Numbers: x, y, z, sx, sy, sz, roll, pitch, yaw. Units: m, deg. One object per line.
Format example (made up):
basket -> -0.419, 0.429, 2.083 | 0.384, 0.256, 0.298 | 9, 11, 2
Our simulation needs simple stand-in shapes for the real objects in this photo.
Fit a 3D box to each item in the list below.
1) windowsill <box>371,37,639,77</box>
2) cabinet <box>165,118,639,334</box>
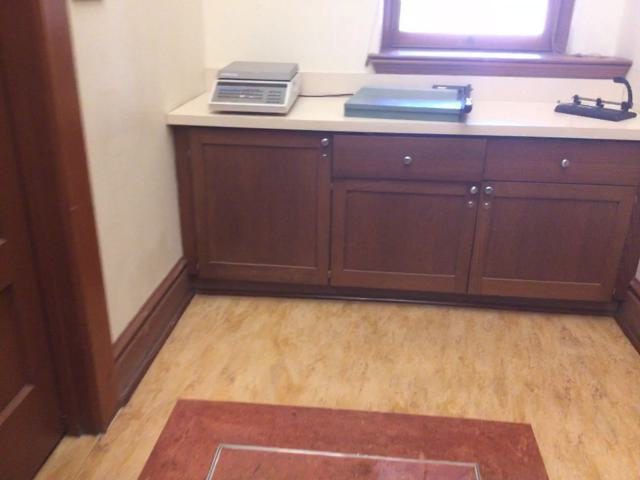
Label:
windowsill -> 0.820, -0.870, 2.720 | 1.140, 0.120, 0.380 | 3, 22, 6
cabinet -> 0.350, -0.060, 2.410 | 1.940, 0.800, 0.130 | 3, 22, 6
